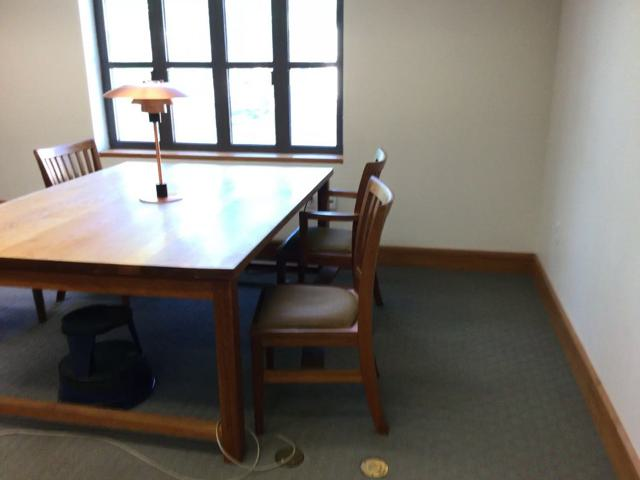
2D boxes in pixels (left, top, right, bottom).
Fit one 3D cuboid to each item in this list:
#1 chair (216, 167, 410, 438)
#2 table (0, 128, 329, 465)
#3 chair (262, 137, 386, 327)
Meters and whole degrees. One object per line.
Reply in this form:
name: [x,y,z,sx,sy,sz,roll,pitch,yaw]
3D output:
chair: [-0.030,0.210,2.310,0.630,0.890,0.640,1,17,-1]
table: [-0.760,0.030,2.980,1.410,0.950,2.030,3,17,6]
chair: [0.040,-0.070,3.160,0.600,0.900,0.550,3,17,6]
